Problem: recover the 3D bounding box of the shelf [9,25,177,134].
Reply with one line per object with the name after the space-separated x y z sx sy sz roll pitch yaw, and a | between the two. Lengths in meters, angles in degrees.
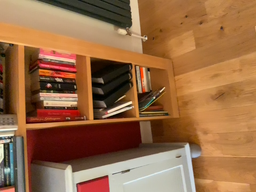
-0.140 -0.040 1.310 0.300 1.000 0.450 -13 79 47 | shelf
